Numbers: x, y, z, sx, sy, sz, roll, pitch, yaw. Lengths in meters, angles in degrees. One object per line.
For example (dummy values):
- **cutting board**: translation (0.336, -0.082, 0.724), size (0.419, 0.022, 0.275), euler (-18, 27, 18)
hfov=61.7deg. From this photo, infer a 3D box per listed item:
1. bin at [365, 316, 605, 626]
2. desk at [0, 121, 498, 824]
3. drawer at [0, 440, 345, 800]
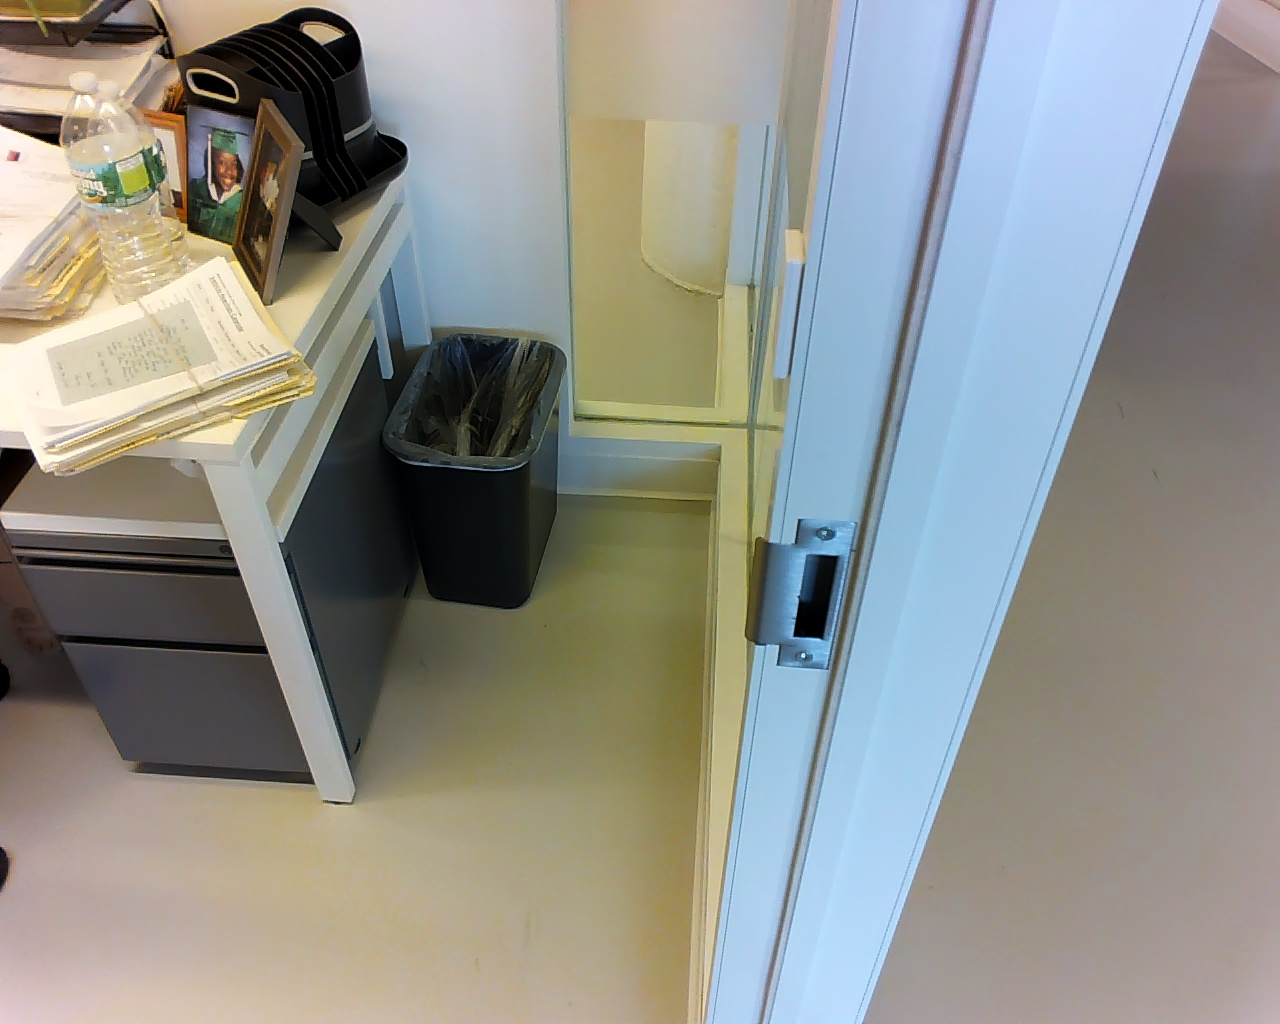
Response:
- **bin**: translation (-0.260, -0.080, 2.000), size (0.340, 0.400, 0.390), euler (4, 41, 4)
- **desk**: translation (-1.000, -0.110, 1.770), size (1.330, 0.750, 0.820), euler (4, 41, 4)
- **drawer**: translation (-0.690, 0.180, 1.560), size (0.390, 0.600, 0.120), euler (4, 41, 4)
